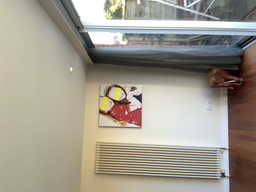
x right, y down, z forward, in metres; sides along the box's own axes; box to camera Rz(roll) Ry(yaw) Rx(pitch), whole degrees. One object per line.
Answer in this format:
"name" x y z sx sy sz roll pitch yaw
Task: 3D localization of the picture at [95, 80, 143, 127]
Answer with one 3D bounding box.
"picture" -0.150 0.130 3.650 0.050 0.800 0.780 86 -174 -84
